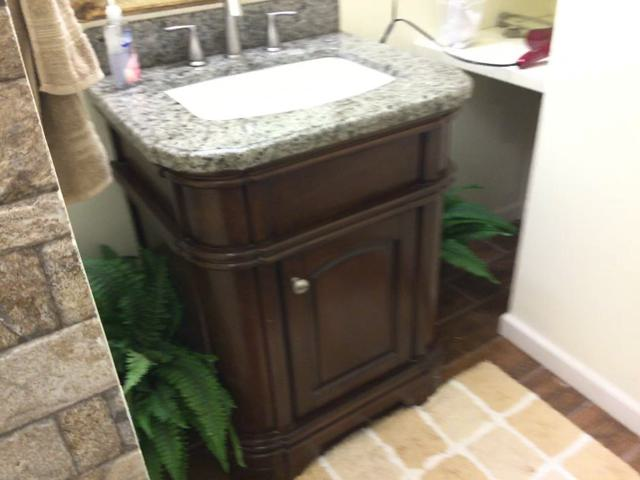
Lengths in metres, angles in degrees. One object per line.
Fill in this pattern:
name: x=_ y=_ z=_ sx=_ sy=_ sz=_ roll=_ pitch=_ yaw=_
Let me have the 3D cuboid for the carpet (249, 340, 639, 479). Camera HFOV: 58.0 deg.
carpet: x=0.310 y=0.570 z=1.370 sx=0.790 sy=0.080 sz=0.540 roll=-20 pitch=36 yaw=-25

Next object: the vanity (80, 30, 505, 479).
vanity: x=-0.060 y=0.040 z=1.460 sx=0.710 sy=0.900 sz=0.570 roll=-20 pitch=36 yaw=-25
